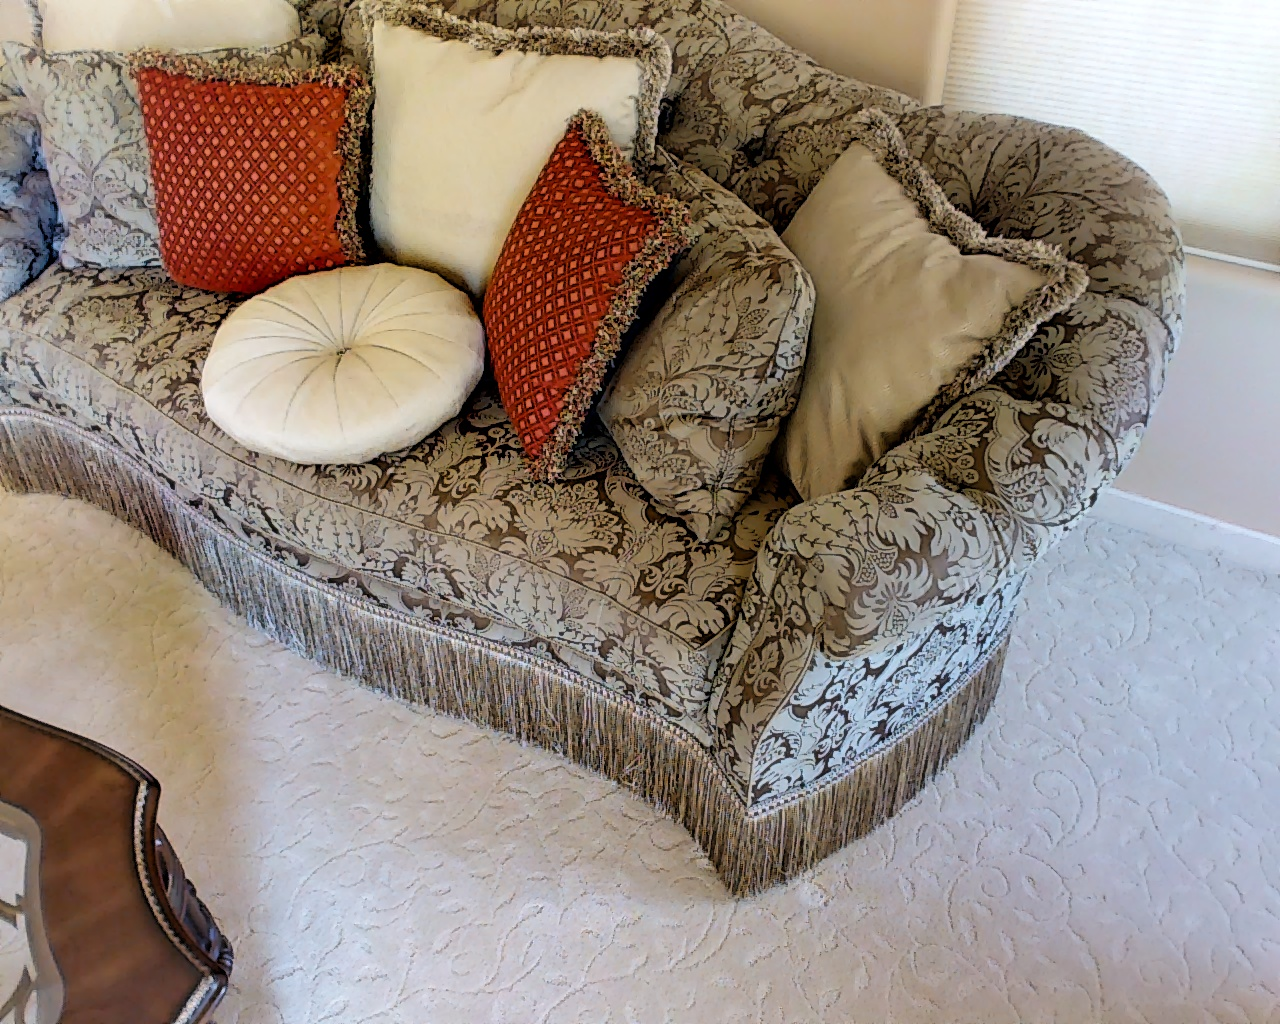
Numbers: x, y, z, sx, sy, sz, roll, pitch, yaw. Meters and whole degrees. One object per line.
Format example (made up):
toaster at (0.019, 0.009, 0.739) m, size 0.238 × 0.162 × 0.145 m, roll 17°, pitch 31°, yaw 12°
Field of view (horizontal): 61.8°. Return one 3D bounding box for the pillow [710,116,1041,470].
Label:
pillow at (0.320, -0.360, 1.670) m, size 0.190 × 0.410 × 0.680 m, roll -38°, pitch 11°, yaw 12°

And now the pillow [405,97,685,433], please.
pillow at (-0.160, -0.390, 1.700) m, size 0.170 × 0.430 × 0.470 m, roll -35°, pitch 17°, yaw 1°

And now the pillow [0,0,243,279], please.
pillow at (-1.050, -0.720, 2.080) m, size 0.280 × 0.440 × 0.230 m, roll 0°, pitch 37°, yaw 29°

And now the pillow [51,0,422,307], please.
pillow at (-0.720, -0.630, 1.930) m, size 0.510 × 0.460 × 0.160 m, roll 3°, pitch 38°, yaw 30°

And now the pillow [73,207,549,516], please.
pillow at (-0.520, -0.280, 1.780) m, size 0.550 × 0.150 × 0.500 m, roll 17°, pitch 46°, yaw 20°
